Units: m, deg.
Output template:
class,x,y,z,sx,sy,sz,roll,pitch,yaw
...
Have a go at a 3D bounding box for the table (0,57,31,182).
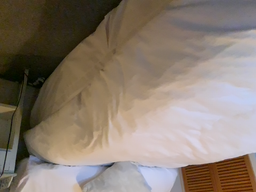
class,x,y,z,sx,sy,sz,roll,pitch,yaw
table,-0.870,0.120,1.260,0.390,0.710,0.250,20,145,-40
